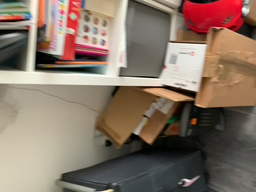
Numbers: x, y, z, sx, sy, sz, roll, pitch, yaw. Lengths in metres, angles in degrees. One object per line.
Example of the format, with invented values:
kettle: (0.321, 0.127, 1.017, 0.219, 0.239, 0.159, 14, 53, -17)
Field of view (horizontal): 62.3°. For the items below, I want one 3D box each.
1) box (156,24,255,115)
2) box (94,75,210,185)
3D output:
box: (0.440, -0.130, 1.070, 0.300, 0.480, 0.340, 21, 105, 44)
box: (0.140, 0.160, 1.400, 0.530, 0.450, 0.510, 15, 101, 45)
